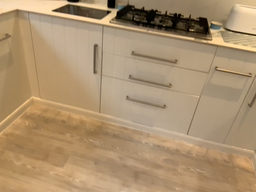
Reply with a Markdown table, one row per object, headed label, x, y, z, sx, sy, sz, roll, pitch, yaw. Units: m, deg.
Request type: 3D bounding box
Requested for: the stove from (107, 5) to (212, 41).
| label | x | y | z | sx | sy | sz | roll | pitch | yaw |
| --- | --- | --- | --- | --- | --- | --- | --- | --- | --- |
| stove | 0.270 | -0.610 | 1.710 | 0.740 | 0.030 | 0.560 | 13 | 34 | 8 |
